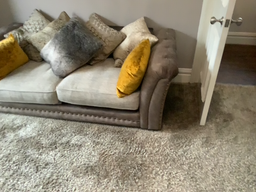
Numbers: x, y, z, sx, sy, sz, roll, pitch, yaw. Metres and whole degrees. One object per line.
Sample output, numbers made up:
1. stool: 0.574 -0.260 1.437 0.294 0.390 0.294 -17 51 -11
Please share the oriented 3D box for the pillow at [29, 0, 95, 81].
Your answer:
1. pillow: -0.720 -0.600 2.270 0.270 0.590 0.740 28 -32 -26
